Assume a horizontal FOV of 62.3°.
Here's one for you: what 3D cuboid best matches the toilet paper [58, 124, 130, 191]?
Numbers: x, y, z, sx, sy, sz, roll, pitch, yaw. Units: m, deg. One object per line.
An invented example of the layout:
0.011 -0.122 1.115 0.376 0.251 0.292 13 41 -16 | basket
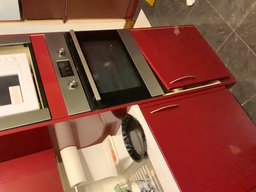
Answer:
-0.240 0.410 1.390 0.220 0.370 0.350 63 150 29 | toilet paper
